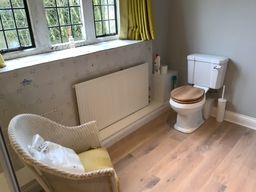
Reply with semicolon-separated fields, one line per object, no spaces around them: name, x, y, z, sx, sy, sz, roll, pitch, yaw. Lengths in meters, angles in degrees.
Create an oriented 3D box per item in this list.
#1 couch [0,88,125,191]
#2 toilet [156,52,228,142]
couch;-0.430;0.450;1.560;0.630;0.760;0.660;-9;24;-18
toilet;0.760;-0.040;2.560;0.490;0.810;0.720;18;30;39
